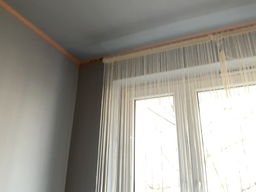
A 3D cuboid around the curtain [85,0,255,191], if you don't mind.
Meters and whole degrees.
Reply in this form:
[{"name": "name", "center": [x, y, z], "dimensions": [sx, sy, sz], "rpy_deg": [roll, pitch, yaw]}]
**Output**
[{"name": "curtain", "center": [0.500, 0.320, 1.250], "dimensions": [1.600, 1.860, 0.170], "rpy_deg": [-7, -22, 22]}]
